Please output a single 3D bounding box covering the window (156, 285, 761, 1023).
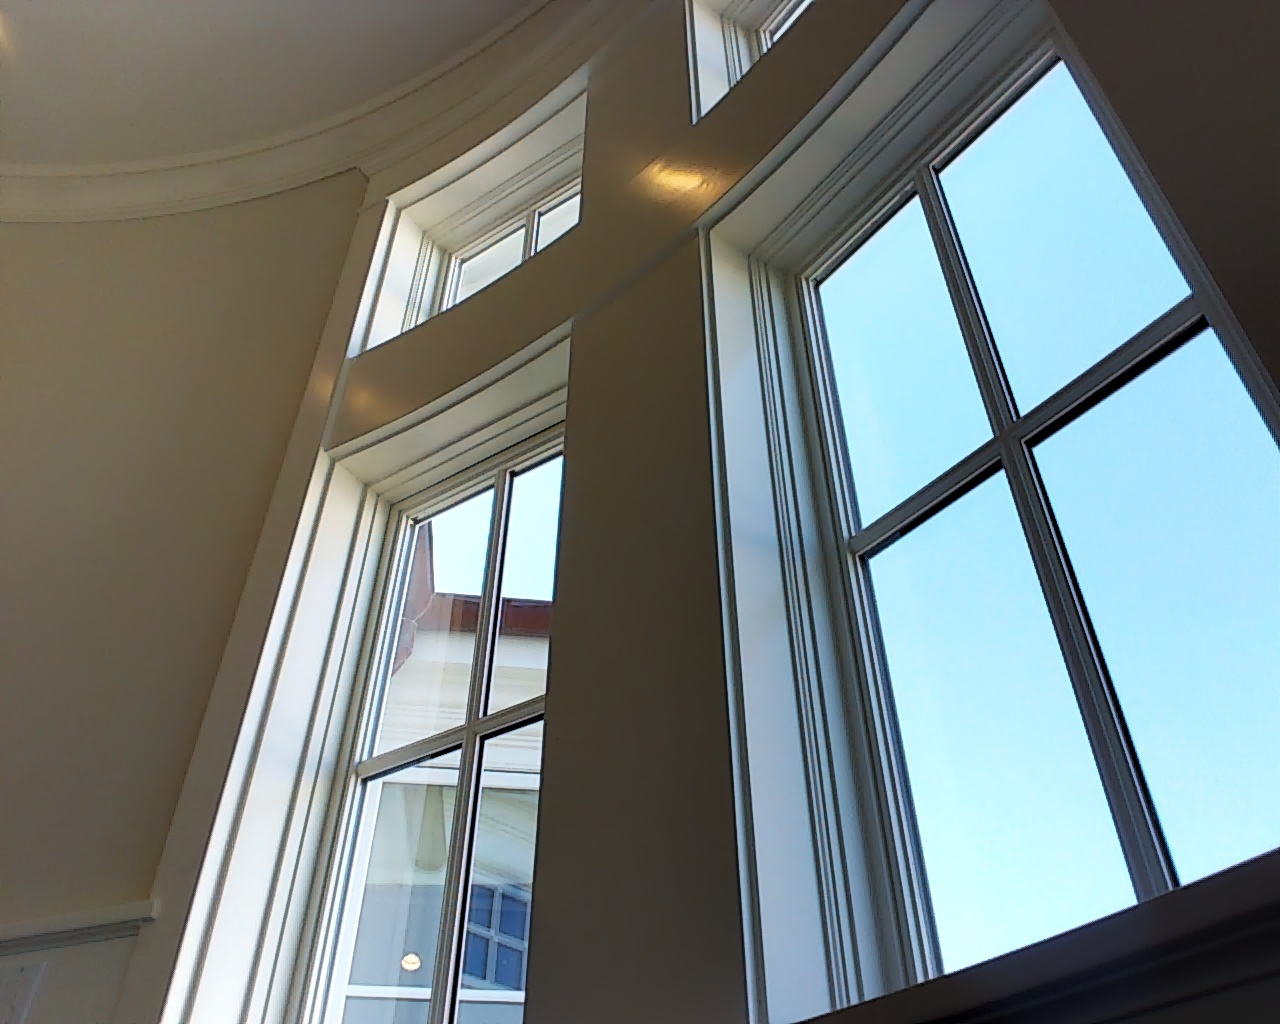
[{"bbox_3d":[-0.230,0.330,1.610,0.630,1.230,0.430,-27,-49,28],"label":"window"}]

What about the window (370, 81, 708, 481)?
[{"bbox_3d":[-0.210,-0.510,2.390,0.590,0.610,0.360,-27,-49,25],"label":"window"}]

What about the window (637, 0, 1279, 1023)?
[{"bbox_3d":[0.360,-0.070,1.120,0.410,1.250,0.650,27,-48,-26],"label":"window"}]
